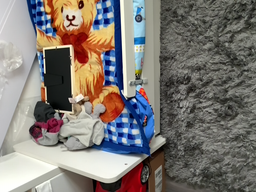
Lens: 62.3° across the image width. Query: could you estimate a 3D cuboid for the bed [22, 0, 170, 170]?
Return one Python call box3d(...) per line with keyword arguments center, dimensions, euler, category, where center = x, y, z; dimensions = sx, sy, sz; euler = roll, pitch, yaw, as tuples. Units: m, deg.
box3d(center=(-0.200, -0.400, 1.260), dimensions=(0.770, 0.410, 1.400), euler=(3, 98, 34), category="bed")
